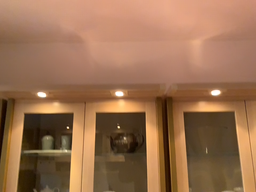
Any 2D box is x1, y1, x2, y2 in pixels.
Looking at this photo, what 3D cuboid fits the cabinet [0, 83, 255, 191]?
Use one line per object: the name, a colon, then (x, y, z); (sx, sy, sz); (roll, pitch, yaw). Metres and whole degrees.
cabinet: (0.230, 1.000, 1.140); (1.770, 2.080, 0.430); (-1, -13, 2)
